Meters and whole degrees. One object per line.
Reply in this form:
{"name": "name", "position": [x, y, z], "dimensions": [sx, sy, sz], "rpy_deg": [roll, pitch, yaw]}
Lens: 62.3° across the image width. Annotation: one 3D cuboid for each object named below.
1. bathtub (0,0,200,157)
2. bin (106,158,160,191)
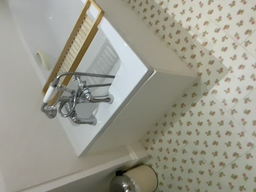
{"name": "bathtub", "position": [-0.360, -0.500, 1.620], "dimensions": [0.690, 0.560, 1.660], "rpy_deg": [-50, 61, 28]}
{"name": "bin", "position": [0.040, 0.580, 1.450], "dimensions": [0.140, 0.300, 0.200], "rpy_deg": [-51, 61, 28]}
